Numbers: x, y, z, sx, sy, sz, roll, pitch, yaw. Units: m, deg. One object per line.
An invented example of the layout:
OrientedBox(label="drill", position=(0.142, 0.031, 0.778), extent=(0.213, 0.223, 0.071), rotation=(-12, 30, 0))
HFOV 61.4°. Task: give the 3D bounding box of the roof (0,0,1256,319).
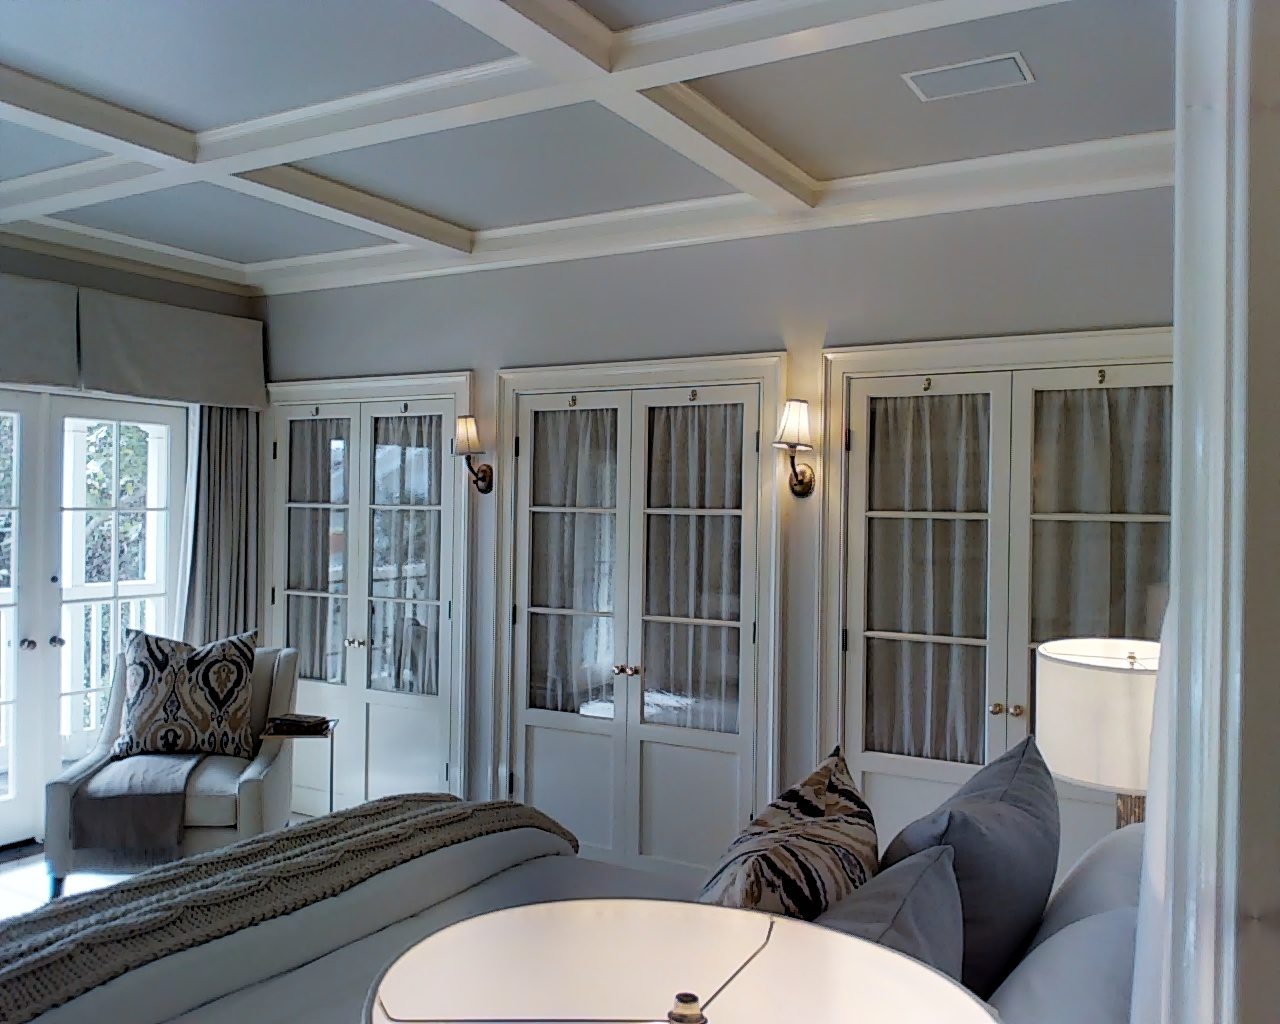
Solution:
OrientedBox(label="roof", position=(-1.150, -1.080, 2.500), extent=(4.470, 0.210, 4.520), rotation=(1, 0, 30))

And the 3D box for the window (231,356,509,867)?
OrientedBox(label="window", position=(-1.320, 0.420, 5.120), extent=(1.520, 2.200, 0.240), rotation=(1, 0, 30))

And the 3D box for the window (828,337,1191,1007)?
OrientedBox(label="window", position=(1.240, 0.500, 3.740), extent=(1.170, 2.120, 0.100), rotation=(1, 0, 30))

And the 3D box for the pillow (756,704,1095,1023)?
OrientedBox(label="pillow", position=(0.500, 0.640, 1.770), extent=(0.240, 0.510, 0.590), rotation=(20, -6, 33))

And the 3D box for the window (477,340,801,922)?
OrientedBox(label="window", position=(-0.050, 0.440, 4.470), extent=(1.450, 2.190, 0.130), rotation=(1, 0, 30))
